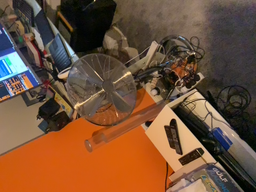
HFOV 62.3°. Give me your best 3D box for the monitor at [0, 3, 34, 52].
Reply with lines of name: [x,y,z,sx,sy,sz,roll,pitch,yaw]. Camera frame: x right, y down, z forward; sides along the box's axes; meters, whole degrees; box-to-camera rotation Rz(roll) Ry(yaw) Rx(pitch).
monitor: [-1.210,-0.620,1.930,0.520,0.500,0.040,58,149,16]

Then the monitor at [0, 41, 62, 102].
monitor: [-0.900,-0.230,1.750,0.530,0.500,0.050,51,146,27]
